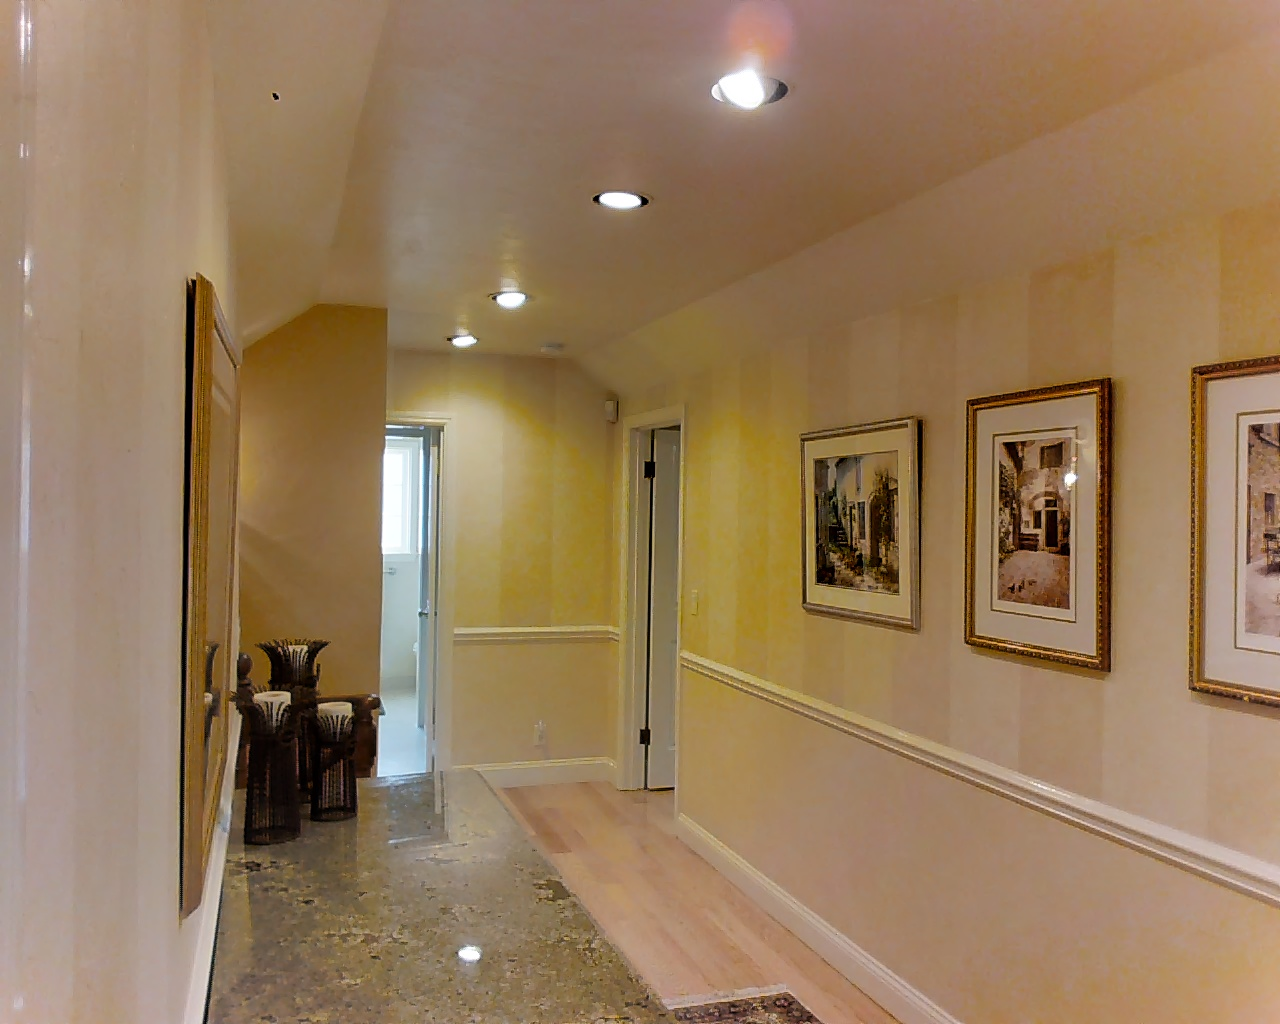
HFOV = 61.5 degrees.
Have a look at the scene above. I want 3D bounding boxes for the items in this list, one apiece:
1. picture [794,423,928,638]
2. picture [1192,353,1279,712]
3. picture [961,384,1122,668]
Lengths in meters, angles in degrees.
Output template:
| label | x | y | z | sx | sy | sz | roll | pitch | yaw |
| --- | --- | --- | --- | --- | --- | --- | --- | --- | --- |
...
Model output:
| label | x | y | z | sx | sy | sz | roll | pitch | yaw |
| --- | --- | --- | --- | --- | --- | --- | --- | --- | --- |
| picture | 0.730 | 0.040 | 3.660 | 0.060 | 0.660 | 0.740 | 1 | 2 | -18 |
| picture | 1.290 | 0.040 | 2.050 | 0.040 | 0.700 | 0.530 | 1 | 0 | -19 |
| picture | 1.030 | 0.030 | 2.810 | 0.040 | 0.670 | 0.550 | 1 | 0 | -19 |
